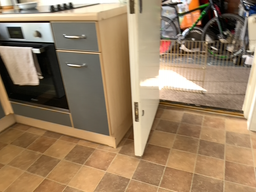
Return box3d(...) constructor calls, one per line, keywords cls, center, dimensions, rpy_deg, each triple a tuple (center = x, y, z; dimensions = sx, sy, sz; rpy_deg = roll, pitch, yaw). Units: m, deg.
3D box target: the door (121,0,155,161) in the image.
box3d(cls="door", center=(0.070, -0.640, 1.150), dimensions=(0.080, 2.070, 0.620), rpy_deg=(3, 29, 13))
